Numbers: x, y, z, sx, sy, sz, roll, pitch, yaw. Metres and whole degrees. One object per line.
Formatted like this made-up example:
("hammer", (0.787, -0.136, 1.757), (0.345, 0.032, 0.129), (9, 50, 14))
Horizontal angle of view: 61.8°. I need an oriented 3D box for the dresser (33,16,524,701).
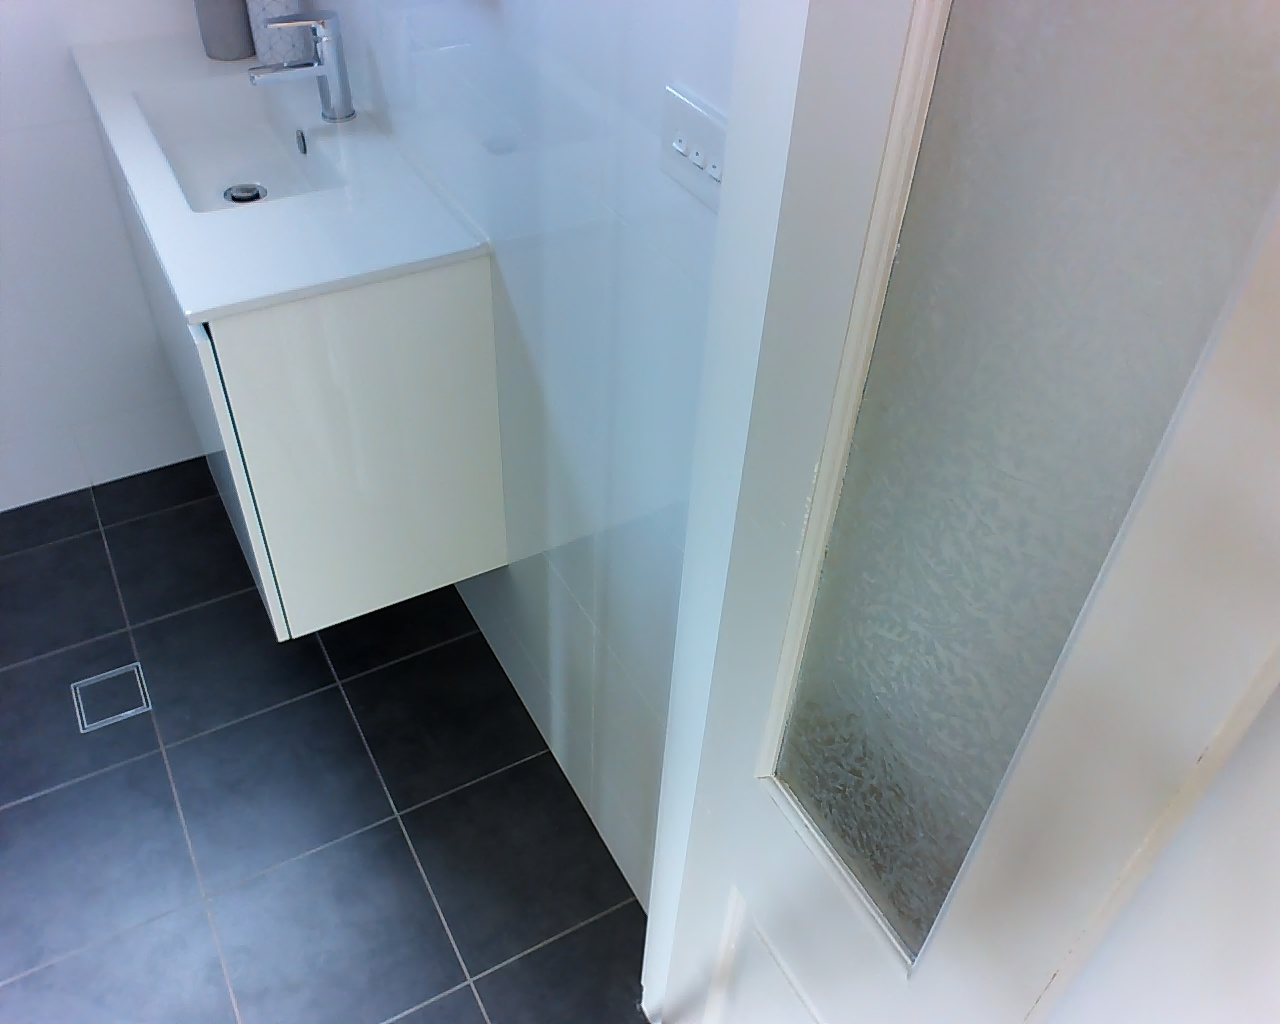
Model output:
("dresser", (-0.580, -0.300, 1.710), (0.420, 0.620, 0.930), (-19, 46, -23))
